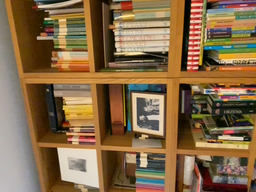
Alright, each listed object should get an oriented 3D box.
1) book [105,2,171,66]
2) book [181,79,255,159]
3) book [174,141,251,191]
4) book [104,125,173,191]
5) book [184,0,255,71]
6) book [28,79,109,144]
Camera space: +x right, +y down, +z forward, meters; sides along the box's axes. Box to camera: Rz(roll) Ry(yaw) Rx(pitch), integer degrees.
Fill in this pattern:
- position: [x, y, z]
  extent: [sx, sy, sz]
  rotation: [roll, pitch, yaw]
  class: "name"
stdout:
- position: [0.060, -0.310, 1.060]
  extent: [0.250, 0.280, 0.270]
  rotation: [-68, -22, -68]
  class: "book"
- position: [0.470, 0.110, 1.150]
  extent: [0.250, 0.320, 0.350]
  rotation: [-67, -23, -69]
  class: "book"
- position: [0.460, 0.480, 1.250]
  extent: [0.280, 0.340, 0.300]
  rotation: [-68, -22, -68]
  class: "book"
- position: [0.080, 0.420, 1.360]
  extent: [0.300, 0.380, 0.350]
  rotation: [-69, -22, -68]
  class: "book"
- position: [0.460, -0.290, 0.990]
  extent: [0.290, 0.340, 0.280]
  rotation: [-69, -21, -67]
  class: "book"
- position: [-0.330, 0.080, 1.260]
  extent: [0.220, 0.380, 0.310]
  rotation: [-66, -24, -70]
  class: "book"
